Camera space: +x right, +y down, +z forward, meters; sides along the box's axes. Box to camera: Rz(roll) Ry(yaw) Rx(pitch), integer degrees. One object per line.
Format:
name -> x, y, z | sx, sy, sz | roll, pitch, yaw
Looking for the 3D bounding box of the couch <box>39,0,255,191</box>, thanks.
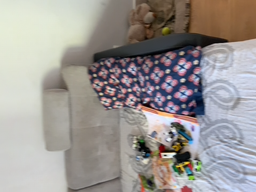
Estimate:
couch -> 0.220, 0.740, 1.410 | 1.480, 1.000, 2.260 | 6, 100, 51
